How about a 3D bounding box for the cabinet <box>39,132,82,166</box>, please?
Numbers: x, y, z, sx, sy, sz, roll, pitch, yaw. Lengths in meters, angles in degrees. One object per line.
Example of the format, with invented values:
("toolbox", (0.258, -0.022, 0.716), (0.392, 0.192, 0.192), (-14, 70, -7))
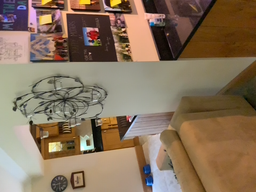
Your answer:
("cabinet", (-1.500, 1.180, 4.740), (0.340, 0.860, 0.560), (115, 147, -57))
